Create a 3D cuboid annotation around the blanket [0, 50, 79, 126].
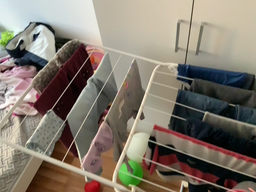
[{"bbox_3d":[-0.800,-0.090,1.550,0.730,0.200,0.410,12,52,17],"label":"blanket"}]
